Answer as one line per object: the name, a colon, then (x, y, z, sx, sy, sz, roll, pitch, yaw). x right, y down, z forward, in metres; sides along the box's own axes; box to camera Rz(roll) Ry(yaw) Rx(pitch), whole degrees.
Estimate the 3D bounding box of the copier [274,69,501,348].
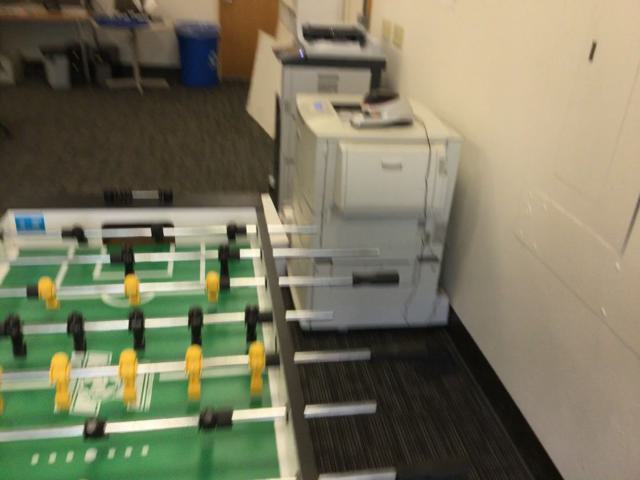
copier: (0.210, -0.140, 2.500, 0.740, 1.040, 0.560, -1, 27, -10)
